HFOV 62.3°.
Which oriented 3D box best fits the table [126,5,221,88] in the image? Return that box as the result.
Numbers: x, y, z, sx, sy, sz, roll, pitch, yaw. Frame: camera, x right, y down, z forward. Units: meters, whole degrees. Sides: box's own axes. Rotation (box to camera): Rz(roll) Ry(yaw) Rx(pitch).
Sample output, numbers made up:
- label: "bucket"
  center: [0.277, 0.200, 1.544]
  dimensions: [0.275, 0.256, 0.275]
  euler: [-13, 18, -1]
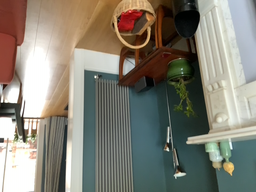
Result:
- label: "table"
  center: [0.470, -0.500, 2.490]
  dimensions: [0.690, 0.510, 0.830]
  euler: [5, 162, -25]

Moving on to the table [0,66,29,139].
- label: "table"
  center: [-2.690, 0.270, 4.100]
  dimensions: [1.250, 0.890, 2.430]
  euler: [5, 162, -26]
